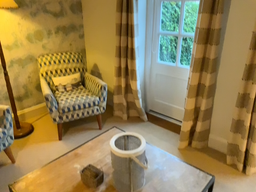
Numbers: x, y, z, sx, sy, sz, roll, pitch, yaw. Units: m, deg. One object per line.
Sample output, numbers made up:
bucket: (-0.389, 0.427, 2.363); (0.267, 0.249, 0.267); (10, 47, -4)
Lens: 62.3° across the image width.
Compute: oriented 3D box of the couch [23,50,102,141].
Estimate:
couch: (-0.860, -0.080, 2.800); (0.720, 0.840, 0.830); (-13, 27, -27)
